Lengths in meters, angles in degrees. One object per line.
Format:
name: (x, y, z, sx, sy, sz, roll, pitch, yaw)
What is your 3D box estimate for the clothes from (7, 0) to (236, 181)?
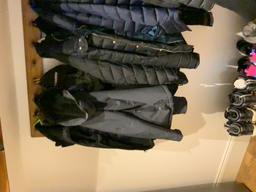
clothes: (-0.040, -0.160, 1.190, 0.270, 1.020, 1.290, -120, 34, -60)
